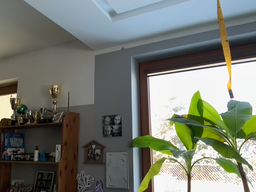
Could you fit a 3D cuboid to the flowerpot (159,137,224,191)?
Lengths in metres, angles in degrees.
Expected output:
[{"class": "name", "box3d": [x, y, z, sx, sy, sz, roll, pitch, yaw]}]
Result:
[{"class": "flowerpot", "box3d": [0.560, 0.840, 1.800, 0.480, 0.950, 0.350, -6, -13, 22]}]
